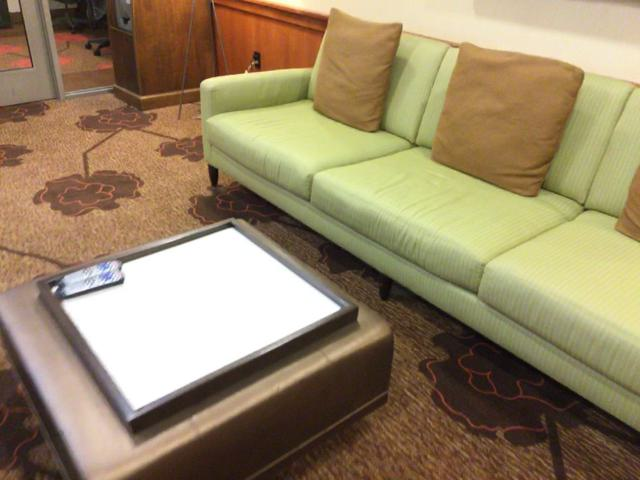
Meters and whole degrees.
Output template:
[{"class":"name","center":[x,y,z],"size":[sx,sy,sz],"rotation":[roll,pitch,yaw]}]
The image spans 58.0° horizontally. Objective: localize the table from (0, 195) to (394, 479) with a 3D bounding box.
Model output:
[{"class":"table","center":[-0.400,0.330,1.810],"size":[0.820,0.470,0.890],"rotation":[-21,37,-35]}]
